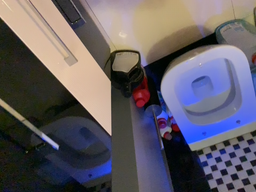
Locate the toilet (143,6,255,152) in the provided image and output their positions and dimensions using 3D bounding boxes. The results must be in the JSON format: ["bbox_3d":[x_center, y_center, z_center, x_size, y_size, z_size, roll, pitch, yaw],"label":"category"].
[{"bbox_3d":[0.360,-0.050,1.010,0.370,0.290,0.530,-22,128,13],"label":"toilet"}]
